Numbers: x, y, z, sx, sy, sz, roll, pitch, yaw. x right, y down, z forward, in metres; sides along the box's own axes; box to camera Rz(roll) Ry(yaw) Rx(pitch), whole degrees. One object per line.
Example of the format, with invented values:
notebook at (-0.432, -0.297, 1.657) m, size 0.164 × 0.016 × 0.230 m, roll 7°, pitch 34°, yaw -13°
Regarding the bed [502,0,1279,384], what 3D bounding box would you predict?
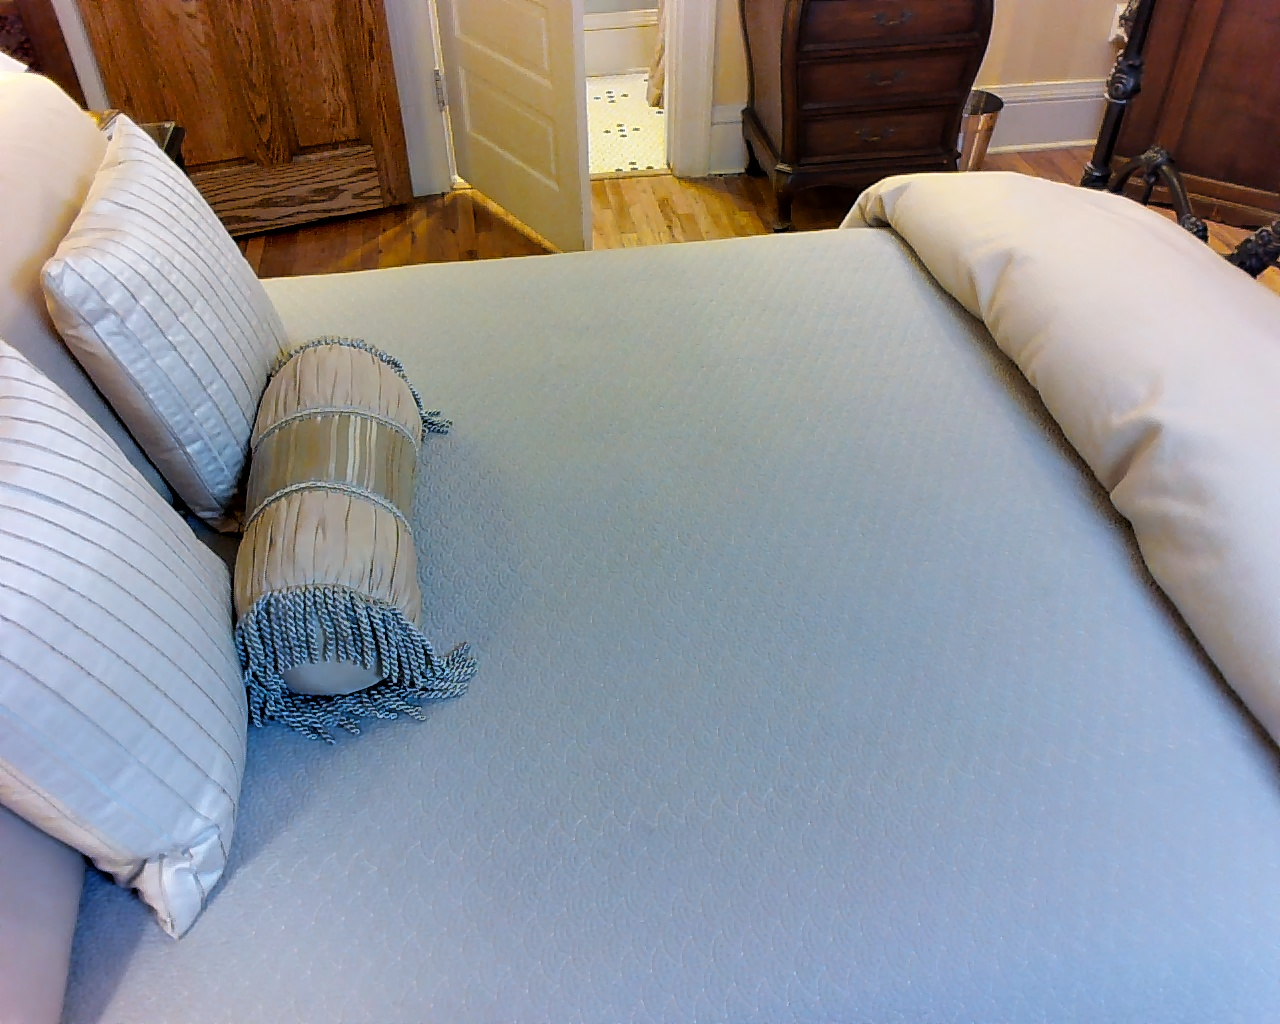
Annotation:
bed at (0.600, -1.740, 3.310) m, size 1.990 × 1.430 × 2.320 m, roll -6°, pitch 43°, yaw -6°
